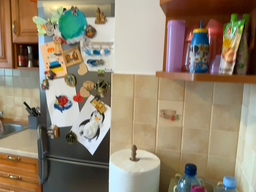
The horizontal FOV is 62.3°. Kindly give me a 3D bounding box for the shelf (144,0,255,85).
[{"bbox_3d":[0.250,-0.520,0.590,0.310,0.940,0.310,5,9,16],"label":"shelf"}]
